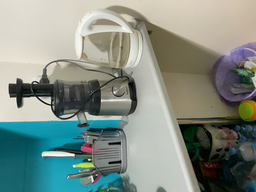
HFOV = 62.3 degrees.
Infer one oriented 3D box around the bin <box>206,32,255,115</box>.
[{"bbox_3d":[0.680,-0.100,1.130,0.330,0.290,0.270,121,144,-51],"label":"bin"}]
